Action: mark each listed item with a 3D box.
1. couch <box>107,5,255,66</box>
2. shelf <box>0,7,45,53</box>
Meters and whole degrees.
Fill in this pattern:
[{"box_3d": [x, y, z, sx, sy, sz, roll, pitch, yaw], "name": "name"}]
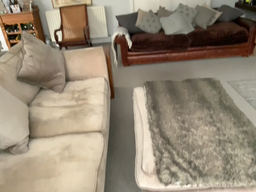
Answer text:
[{"box_3d": [0.910, -1.160, 3.920, 2.410, 0.690, 1.110, -3, 29, 3], "name": "couch"}, {"box_3d": [-2.500, -1.520, 4.890, 0.830, 0.880, 0.420, -5, 29, 0], "name": "shelf"}]
